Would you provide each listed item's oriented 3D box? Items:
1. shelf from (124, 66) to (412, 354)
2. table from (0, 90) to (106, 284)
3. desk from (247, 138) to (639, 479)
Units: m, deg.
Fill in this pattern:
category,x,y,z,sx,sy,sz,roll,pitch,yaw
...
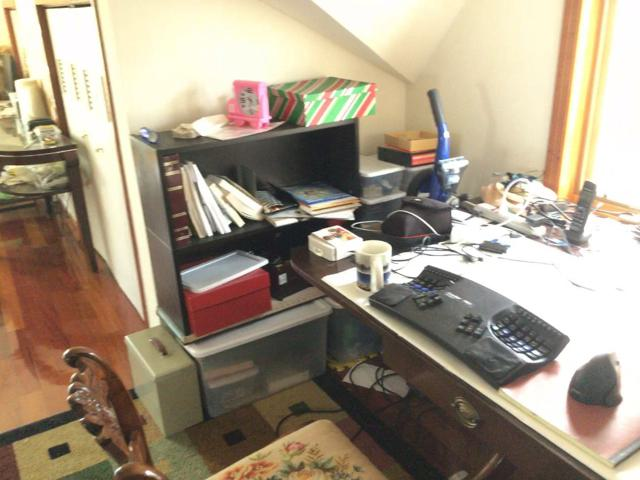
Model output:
category,x,y,z,sx,sy,sz,roll,pitch,yaw
shelf,-0.200,-0.160,2.170,0.910,0.880,0.420,-9,25,-32
table,-1.870,-0.410,3.610,0.670,0.830,1.340,-9,25,-32
desk,0.680,0.420,1.470,1.060,0.970,1.670,-9,25,-32
